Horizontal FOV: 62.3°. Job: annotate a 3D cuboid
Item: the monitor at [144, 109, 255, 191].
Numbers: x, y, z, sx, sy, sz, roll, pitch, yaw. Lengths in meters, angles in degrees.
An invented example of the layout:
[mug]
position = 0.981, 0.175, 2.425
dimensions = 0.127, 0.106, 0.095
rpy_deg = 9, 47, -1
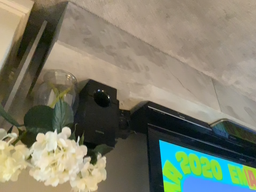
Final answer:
[monitor]
position = 0.730, 0.730, 1.190
dimensions = 1.520, 0.990, 0.050
rpy_deg = 21, 139, -27

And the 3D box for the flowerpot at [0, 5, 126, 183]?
[flowerpot]
position = -0.310, 0.010, 0.700
dimensions = 0.540, 0.410, 0.280
rpy_deg = 19, 140, -25
